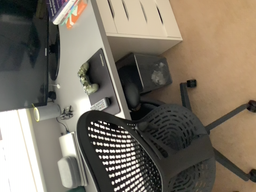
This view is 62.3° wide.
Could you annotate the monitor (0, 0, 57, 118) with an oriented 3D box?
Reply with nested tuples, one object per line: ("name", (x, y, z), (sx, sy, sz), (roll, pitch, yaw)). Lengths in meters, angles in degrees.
("monitor", (-0.660, -0.240, 1.210), (0.070, 0.470, 0.750), (31, 120, 42))
